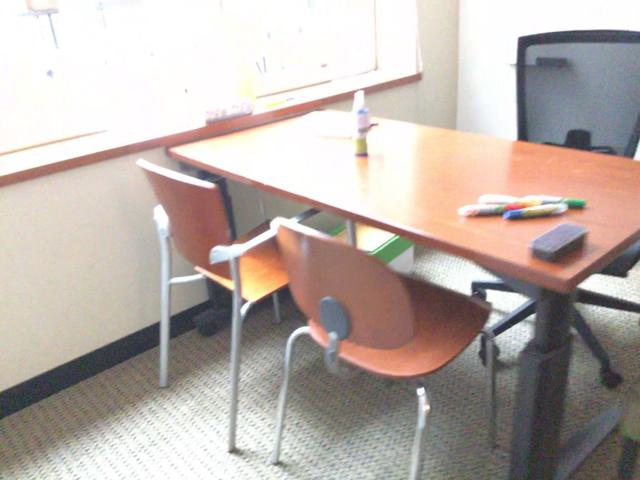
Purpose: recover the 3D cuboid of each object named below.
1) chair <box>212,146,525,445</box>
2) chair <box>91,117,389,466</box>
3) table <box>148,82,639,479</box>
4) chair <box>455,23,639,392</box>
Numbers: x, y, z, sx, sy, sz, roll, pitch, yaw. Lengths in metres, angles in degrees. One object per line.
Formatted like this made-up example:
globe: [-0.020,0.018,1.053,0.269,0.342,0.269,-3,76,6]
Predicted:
chair: [0.130,0.080,1.480,0.560,0.440,0.500,-23,29,-32]
chair: [-0.240,0.100,1.910,0.610,0.810,0.650,-23,29,-32]
table: [0.240,0.070,1.860,0.850,0.880,1.490,-23,29,-32]
chair: [0.820,-0.130,1.910,0.710,1.010,0.660,0,25,14]
